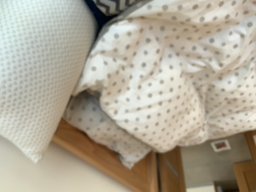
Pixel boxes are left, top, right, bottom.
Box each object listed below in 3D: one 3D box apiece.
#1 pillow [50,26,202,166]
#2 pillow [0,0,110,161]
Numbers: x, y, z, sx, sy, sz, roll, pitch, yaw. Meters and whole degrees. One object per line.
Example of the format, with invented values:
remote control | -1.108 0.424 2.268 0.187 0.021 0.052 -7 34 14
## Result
pillow | 0.070 0.100 1.100 0.430 0.200 0.820 -16 139 20
pillow | -0.270 -0.090 0.670 0.240 0.430 0.390 -15 139 19
